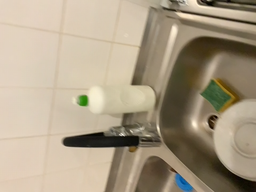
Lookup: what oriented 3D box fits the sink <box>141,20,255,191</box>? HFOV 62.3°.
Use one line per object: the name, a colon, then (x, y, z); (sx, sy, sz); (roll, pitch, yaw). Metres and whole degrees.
sink: (0.260, 0.050, 0.540); (0.400, 0.170, 0.390); (38, 120, 49)
